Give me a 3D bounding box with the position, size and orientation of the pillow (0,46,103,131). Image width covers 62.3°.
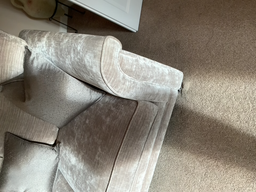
[{"bbox_3d":[-0.460,0.000,1.160,0.480,0.450,0.170,-30,76,12],"label":"pillow"}]

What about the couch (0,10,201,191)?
[{"bbox_3d":[-0.480,0.500,1.400,1.070,0.930,1.760,23,100,42],"label":"couch"}]
